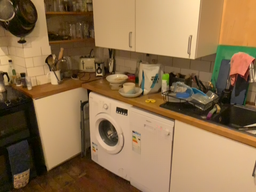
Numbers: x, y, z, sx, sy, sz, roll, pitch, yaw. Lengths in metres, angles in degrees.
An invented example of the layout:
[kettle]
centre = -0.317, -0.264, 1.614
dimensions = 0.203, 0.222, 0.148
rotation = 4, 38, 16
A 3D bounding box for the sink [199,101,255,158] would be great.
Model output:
[sink]
centre = 0.790, 0.210, 1.510
dimensions = 0.380, 0.150, 0.410
rotation = 18, 27, 41
